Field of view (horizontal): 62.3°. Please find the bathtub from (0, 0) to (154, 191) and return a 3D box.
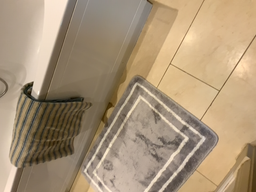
[{"bbox_3d":[-0.630,0.030,1.360,0.750,0.590,1.650,35,112,23],"label":"bathtub"}]
